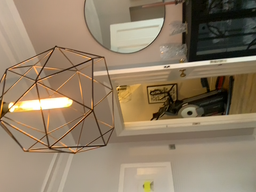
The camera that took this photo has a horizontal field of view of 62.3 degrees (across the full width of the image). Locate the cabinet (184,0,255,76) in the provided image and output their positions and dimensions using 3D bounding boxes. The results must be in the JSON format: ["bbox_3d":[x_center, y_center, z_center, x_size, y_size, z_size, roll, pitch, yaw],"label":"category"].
[{"bbox_3d":[1.110,-0.740,1.880,0.330,1.150,0.980,-85,-12,-56],"label":"cabinet"}]

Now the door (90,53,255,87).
[{"bbox_3d":[0.800,-0.260,2.110,0.880,2.160,0.050,25,-120,-82],"label":"door"}]
